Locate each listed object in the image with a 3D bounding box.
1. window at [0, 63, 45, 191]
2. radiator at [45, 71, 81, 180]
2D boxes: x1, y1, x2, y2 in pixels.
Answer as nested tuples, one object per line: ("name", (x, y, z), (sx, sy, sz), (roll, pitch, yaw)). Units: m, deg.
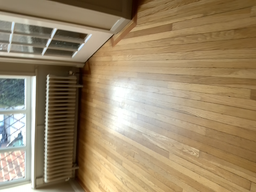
("window", (-1.950, 0.440, 2.460), (0.230, 1.800, 1.690), (11, 100, 55))
("radiator", (-0.890, 0.390, 2.900), (0.140, 0.420, 1.430), (10, 99, 55))
